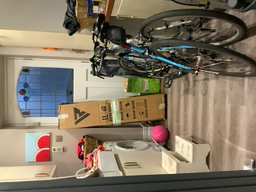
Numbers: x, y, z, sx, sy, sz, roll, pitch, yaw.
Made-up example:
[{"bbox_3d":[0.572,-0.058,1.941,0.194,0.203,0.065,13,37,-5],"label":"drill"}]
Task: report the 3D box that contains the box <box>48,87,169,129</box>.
[{"bbox_3d":[-0.240,0.190,2.800,0.530,1.430,0.460,138,133,-74],"label":"box"}]
